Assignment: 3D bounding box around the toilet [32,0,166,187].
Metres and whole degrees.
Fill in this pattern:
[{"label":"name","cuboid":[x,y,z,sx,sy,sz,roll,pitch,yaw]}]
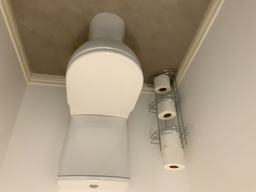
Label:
[{"label":"toilet","cuboid":[-0.140,-0.010,1.110,0.390,0.770,0.670,4,145,-9]}]
